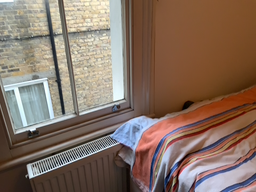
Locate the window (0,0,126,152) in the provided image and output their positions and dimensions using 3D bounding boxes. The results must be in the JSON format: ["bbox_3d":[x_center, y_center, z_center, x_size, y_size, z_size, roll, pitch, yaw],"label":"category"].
[{"bbox_3d":[-0.380,-0.420,1.100,0.780,1.360,0.090,-16,28,-29],"label":"window"}]
